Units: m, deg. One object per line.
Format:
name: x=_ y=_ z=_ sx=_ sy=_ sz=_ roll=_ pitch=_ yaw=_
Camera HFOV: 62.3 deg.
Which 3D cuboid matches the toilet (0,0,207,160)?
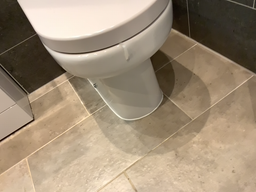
toilet: x=-0.130 y=-0.310 z=0.660 sx=0.390 sy=0.810 sz=0.610 roll=-33 pitch=48 yaw=-9
